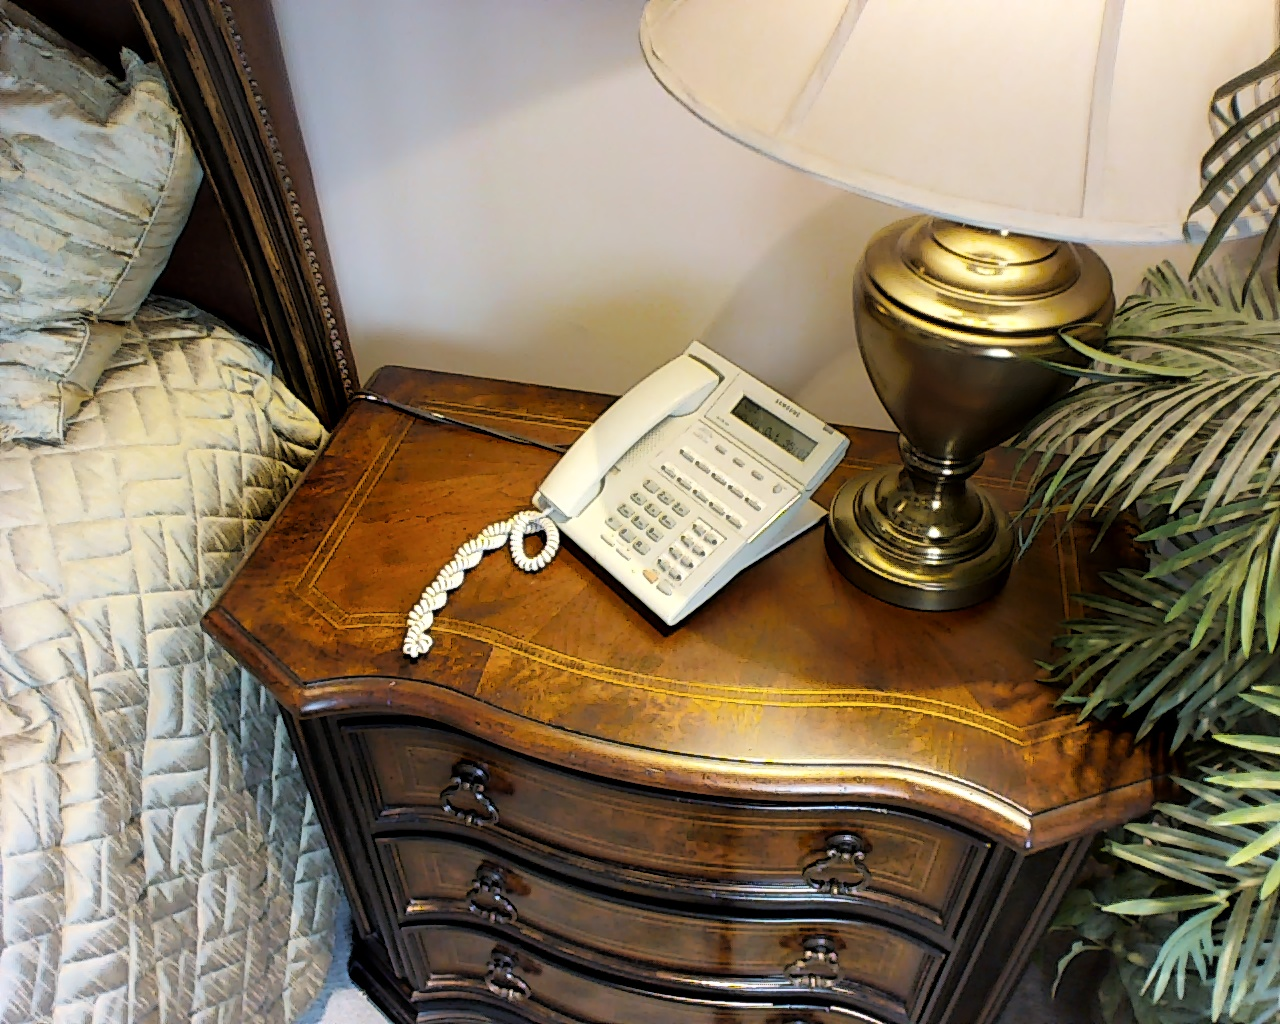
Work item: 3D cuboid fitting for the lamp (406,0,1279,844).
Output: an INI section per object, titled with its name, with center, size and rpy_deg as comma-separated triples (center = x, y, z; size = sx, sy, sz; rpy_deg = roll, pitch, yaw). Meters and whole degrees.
[lamp]
center = 0.240, -0.240, 0.770
size = 0.630, 0.760, 0.480
rpy_deg = 9, 41, 9

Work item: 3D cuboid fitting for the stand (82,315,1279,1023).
[stand]
center = 0.060, 0.300, 1.260
size = 0.970, 0.760, 0.540
rpy_deg = 10, 41, 10
